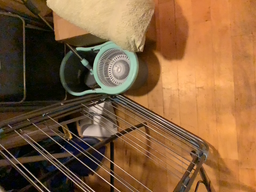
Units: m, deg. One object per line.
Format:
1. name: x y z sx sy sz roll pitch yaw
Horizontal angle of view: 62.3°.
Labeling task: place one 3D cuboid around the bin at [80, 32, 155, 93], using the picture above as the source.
1. bin: -0.050 -0.150 1.100 0.320 0.210 0.260 -2 90 26
